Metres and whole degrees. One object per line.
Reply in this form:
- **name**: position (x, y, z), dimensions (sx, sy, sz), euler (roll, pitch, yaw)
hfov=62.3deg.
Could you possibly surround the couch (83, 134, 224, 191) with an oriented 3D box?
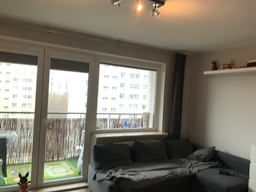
- **couch**: position (0.510, 1.200, 3.800), dimensions (2.360, 0.760, 0.980), euler (4, 1, -30)

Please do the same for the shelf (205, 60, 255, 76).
- **shelf**: position (1.940, -0.500, 3.880), dimensions (0.140, 0.200, 1.180), euler (4, 1, -30)

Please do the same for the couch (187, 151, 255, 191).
- **couch**: position (1.560, 1.340, 3.460), dimensions (0.890, 0.640, 0.680), euler (4, 1, -30)
